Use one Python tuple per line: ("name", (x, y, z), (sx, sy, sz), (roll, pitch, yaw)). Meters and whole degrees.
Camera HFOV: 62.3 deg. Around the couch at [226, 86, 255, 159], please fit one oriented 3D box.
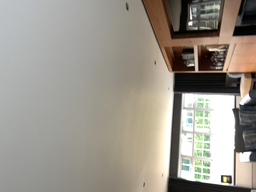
("couch", (2.440, 0.580, 4.160), (1.120, 0.790, 1.240), (42, -128, -67))
